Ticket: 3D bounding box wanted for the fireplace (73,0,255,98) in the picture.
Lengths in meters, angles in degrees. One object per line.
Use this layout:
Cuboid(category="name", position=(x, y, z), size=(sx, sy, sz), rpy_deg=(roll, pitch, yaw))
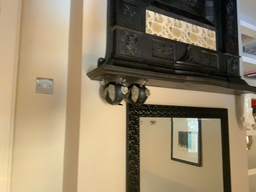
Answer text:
Cuboid(category="fireplace", position=(0.360, -0.660, 1.400), size=(1.270, 1.240, 0.430), rpy_deg=(5, 173, -30))
